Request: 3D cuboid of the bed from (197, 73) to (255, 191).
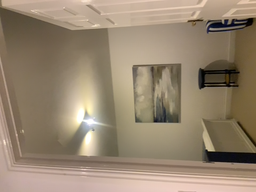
[{"bbox_3d":[1.750,0.940,3.650,1.680,0.620,2.180,-76,-16,-62],"label":"bed"}]
